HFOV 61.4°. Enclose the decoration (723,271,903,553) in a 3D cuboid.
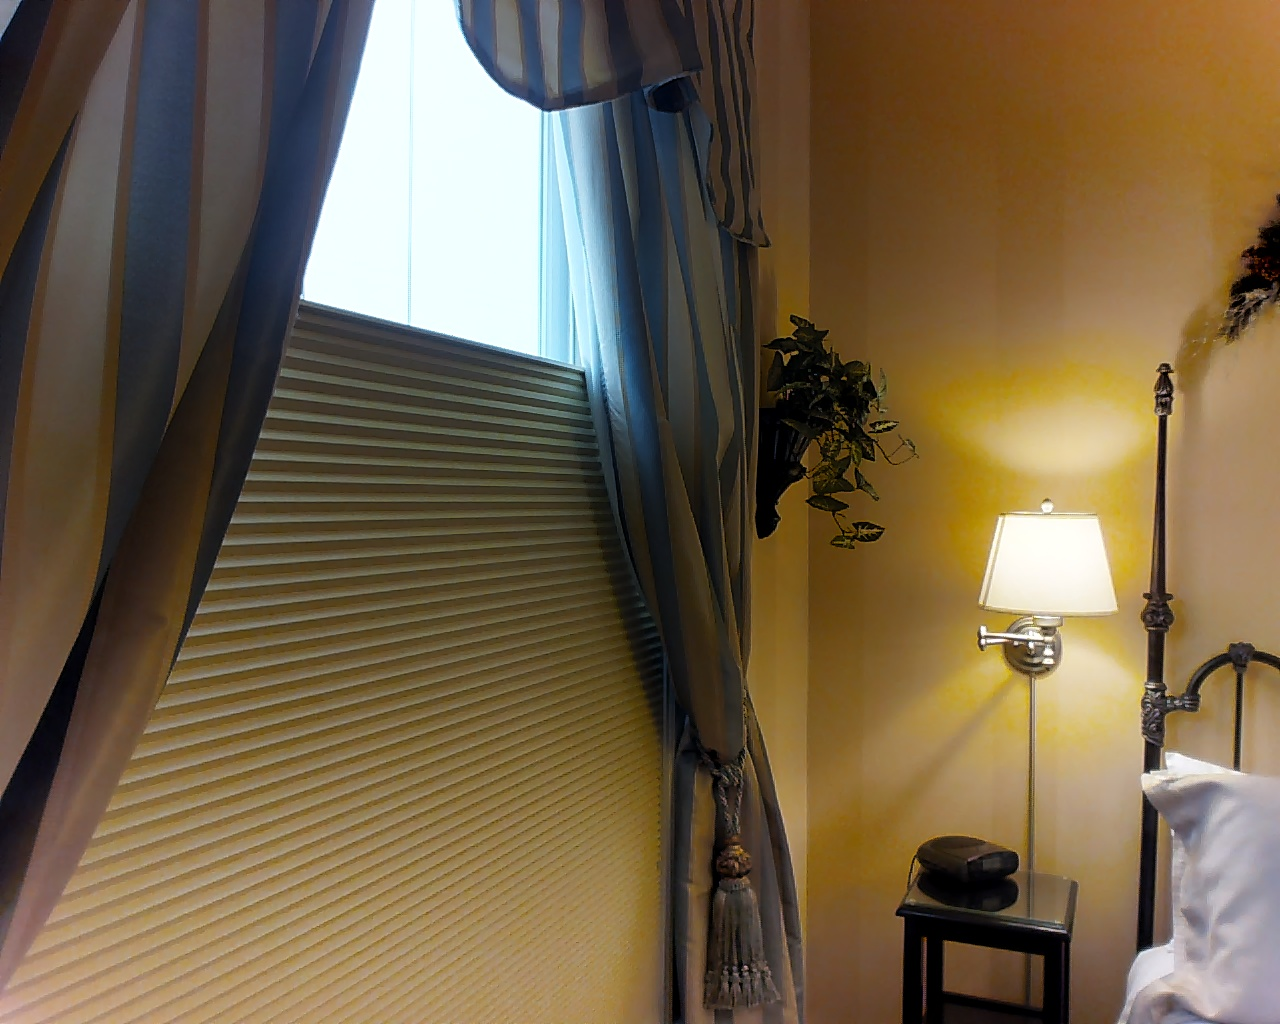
[{"bbox_3d":[0.390,-0.190,2.340,0.270,0.540,0.490,0,0,23],"label":"decoration"}]
